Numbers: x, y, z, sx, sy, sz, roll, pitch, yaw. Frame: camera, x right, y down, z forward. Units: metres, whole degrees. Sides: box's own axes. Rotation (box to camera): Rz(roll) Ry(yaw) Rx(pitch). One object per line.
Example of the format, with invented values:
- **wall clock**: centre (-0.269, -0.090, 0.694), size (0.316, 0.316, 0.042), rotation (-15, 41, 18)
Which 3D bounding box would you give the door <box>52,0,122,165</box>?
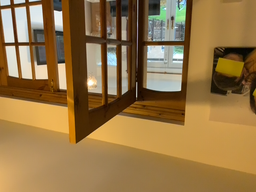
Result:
- **door**: centre (-0.160, -0.870, 1.010), size (0.100, 2.200, 0.770), rotation (2, -166, 9)
